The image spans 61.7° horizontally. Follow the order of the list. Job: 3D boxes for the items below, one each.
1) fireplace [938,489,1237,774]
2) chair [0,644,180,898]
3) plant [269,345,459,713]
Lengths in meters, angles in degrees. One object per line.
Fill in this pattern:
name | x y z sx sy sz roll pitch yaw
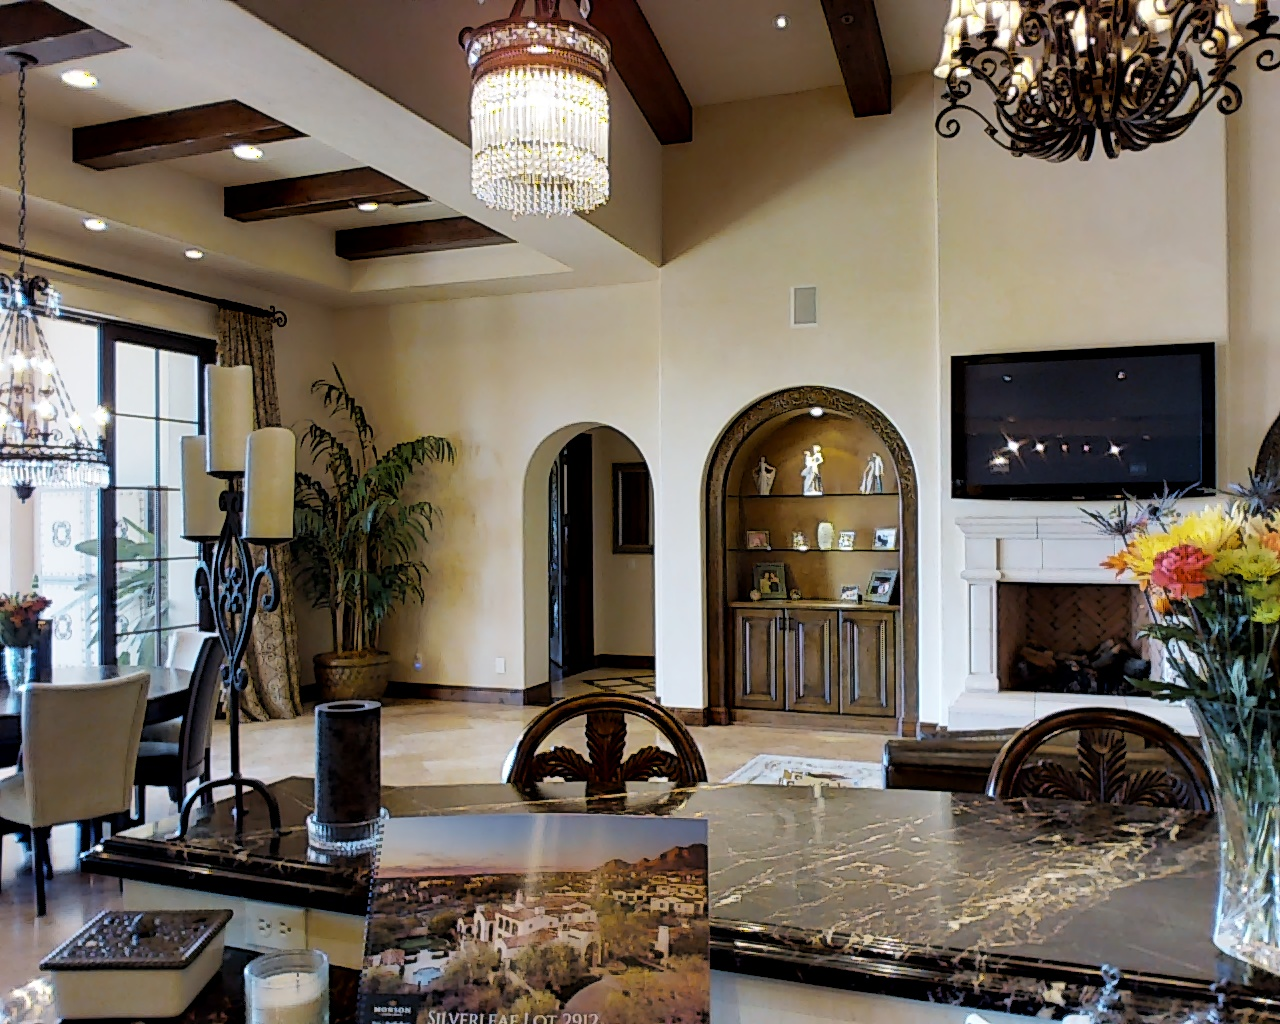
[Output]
fireplace | 2.930 0.720 7.160 1.710 1.700 1.010 -1 0 21
chair | -2.390 1.050 4.560 0.700 0.870 0.560 -1 0 44
plant | -2.320 0.140 9.070 1.240 2.890 0.910 -1 0 21
